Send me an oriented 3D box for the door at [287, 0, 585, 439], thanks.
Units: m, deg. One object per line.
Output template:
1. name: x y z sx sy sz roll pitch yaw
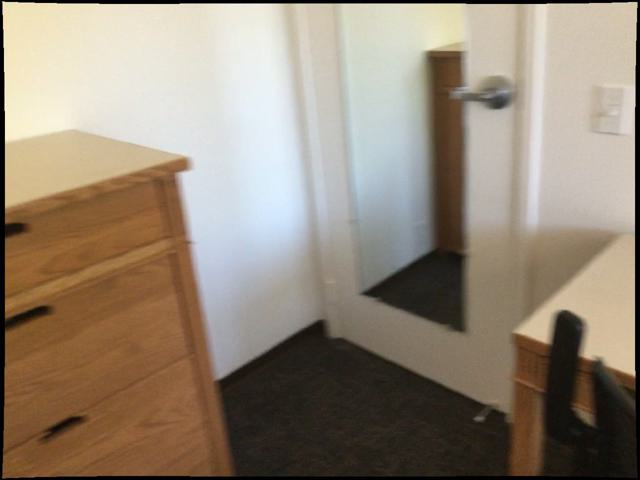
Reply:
1. door: 0.299 -0.090 1.920 0.909 1.323 0.130 21 35 40

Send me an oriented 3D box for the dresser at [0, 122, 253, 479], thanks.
1. dresser: -0.708 0.381 1.360 0.589 1.082 0.819 19 34 41
